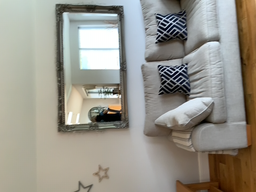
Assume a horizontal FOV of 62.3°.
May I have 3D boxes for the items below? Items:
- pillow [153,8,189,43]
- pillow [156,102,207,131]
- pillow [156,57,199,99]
[{"bbox_3d":[0.530,-0.880,2.660,0.190,0.410,0.340,27,-119,-83],"label":"pillow"},{"bbox_3d":[0.600,0.220,2.380,0.730,0.450,0.250,13,-107,-74],"label":"pillow"},{"bbox_3d":[0.600,-0.210,2.630,0.240,0.460,0.450,22,-115,-80],"label":"pillow"}]
